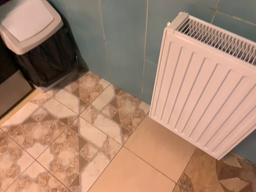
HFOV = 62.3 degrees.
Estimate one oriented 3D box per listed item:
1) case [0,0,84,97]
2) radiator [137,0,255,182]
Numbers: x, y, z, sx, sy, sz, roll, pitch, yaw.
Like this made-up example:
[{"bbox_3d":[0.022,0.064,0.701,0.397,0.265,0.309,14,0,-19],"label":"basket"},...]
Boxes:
[{"bbox_3d":[-0.540,-0.330,1.270,0.320,0.520,0.330,31,61,20],"label":"case"},{"bbox_3d":[0.310,0.040,0.900,0.490,0.700,0.210,30,61,20],"label":"radiator"}]
